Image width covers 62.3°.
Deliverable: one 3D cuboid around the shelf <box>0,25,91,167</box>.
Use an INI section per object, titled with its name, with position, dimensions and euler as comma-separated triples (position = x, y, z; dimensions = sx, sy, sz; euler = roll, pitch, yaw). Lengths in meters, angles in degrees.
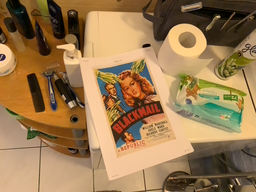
[shelf]
position = -0.370, 0.090, 0.950
dimensions = 0.360, 0.770, 0.370
euler = -3, 70, -9
